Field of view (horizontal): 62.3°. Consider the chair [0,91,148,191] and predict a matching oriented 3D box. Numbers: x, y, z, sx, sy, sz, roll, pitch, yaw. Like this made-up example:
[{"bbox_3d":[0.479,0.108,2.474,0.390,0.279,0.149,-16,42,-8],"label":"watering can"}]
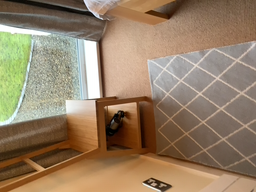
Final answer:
[{"bbox_3d":[-0.500,0.240,1.280,0.410,1.370,0.450,0,95,47],"label":"chair"}]
